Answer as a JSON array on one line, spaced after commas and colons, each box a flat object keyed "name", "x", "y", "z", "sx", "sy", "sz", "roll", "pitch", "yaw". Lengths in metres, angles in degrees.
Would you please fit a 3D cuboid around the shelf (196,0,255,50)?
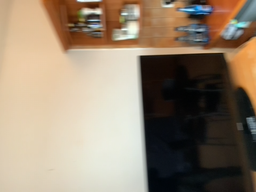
[{"name": "shelf", "x": 1.080, "y": -0.660, "z": 1.670, "sx": 0.590, "sy": 0.850, "sz": 0.300, "roll": 98, "pitch": 170, "yaw": -71}]
